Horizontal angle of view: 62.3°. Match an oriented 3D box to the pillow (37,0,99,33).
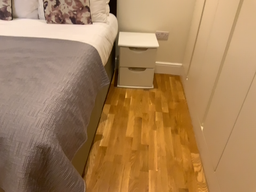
[{"bbox_3d":[-0.510,-0.820,1.850,0.460,0.360,0.170,18,32,-9],"label":"pillow"}]
